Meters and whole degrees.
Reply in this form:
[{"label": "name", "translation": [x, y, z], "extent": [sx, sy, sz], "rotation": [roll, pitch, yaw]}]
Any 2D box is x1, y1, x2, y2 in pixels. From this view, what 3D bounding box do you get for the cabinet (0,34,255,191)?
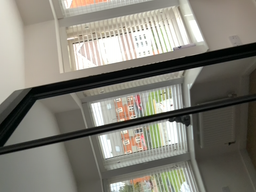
[{"label": "cabinet", "translation": [0.460, 0.400, 0.780], "extent": [2.420, 2.340, 0.650], "rotation": [-108, 7, -66]}]
